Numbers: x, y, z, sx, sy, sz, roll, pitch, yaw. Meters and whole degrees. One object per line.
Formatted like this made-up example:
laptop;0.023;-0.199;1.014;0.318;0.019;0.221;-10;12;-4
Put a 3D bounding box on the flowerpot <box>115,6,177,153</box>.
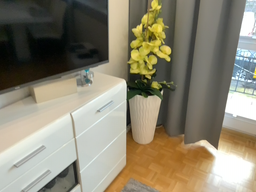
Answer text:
flowerpot;0.130;-0.150;2.120;0.350;1.350;0.470;-11;28;-21
